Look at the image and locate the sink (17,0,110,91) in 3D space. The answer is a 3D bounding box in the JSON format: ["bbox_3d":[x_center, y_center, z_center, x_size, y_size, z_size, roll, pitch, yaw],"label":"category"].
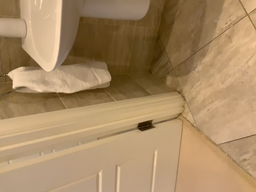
[{"bbox_3d":[-0.250,-0.370,0.740,0.440,0.170,0.560,36,124,44],"label":"sink"}]

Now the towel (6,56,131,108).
[{"bbox_3d":[-0.260,-0.090,0.990,0.200,0.510,0.140,37,124,44],"label":"towel"}]
